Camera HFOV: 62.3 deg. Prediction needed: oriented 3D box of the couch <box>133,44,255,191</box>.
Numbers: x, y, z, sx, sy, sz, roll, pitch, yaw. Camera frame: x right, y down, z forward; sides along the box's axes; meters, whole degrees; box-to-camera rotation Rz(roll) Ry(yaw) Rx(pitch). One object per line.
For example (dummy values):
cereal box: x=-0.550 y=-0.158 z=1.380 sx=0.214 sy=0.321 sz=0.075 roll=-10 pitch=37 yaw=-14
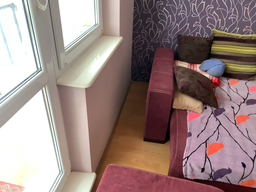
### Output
couch: x=1.380 y=0.190 z=1.920 sx=2.420 sy=0.620 sz=1.550 roll=7 pitch=33 yaw=8
